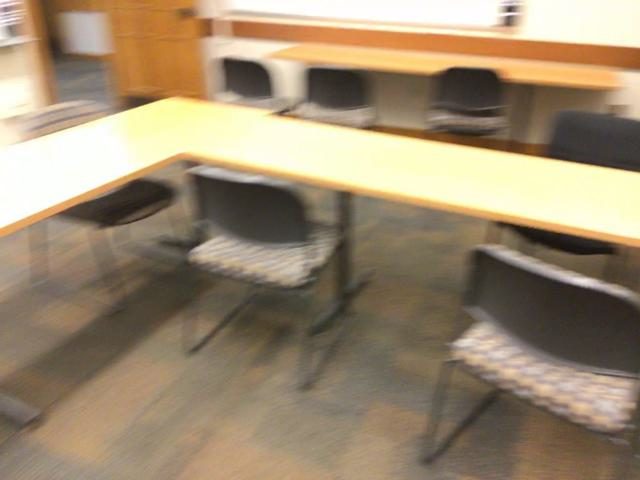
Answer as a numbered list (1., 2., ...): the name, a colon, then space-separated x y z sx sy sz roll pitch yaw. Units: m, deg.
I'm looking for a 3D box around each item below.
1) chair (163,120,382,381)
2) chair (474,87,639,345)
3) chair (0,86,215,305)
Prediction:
1. chair: -0.160 -0.010 2.180 0.520 0.680 0.660 15 27 19
2. chair: 1.050 -0.130 2.390 0.570 0.790 0.650 10 26 4
3. chair: -0.860 -0.220 2.450 0.660 0.690 0.470 15 27 20
